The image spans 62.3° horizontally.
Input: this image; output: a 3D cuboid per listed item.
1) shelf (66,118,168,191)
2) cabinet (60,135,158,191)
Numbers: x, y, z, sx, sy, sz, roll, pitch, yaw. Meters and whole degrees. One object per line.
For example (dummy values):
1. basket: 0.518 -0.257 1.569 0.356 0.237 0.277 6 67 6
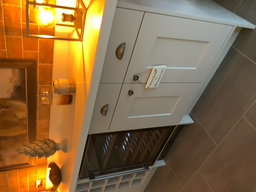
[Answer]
1. shelf: -0.140 0.570 2.170 0.580 0.860 0.310 -118 36 -42
2. cabinet: -0.290 1.020 2.520 0.610 0.860 0.860 -118 36 -42
